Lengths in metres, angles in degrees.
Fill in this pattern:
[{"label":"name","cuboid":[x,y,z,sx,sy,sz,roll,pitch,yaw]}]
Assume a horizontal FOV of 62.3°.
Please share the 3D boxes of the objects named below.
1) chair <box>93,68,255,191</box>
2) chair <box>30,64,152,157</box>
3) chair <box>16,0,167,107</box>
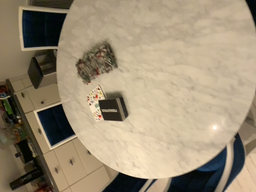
[{"label":"chair","cuboid":[0.390,0.310,1.250,0.510,0.900,0.590,-31,84,54]},{"label":"chair","cuboid":[-0.360,0.130,2.110,0.570,0.910,0.540,-21,92,55]},{"label":"chair","cuboid":[-0.290,-0.450,1.700,0.610,0.900,0.530,53,142,19]}]
